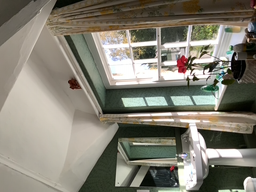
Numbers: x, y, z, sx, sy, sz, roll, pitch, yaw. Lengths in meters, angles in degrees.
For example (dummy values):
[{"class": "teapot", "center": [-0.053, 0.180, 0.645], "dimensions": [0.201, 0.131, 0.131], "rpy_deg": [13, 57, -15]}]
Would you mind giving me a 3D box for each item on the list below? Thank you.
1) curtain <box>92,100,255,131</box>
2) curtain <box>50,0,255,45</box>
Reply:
[{"class": "curtain", "center": [0.550, 0.250, 2.540], "dimensions": [0.270, 1.950, 0.190], "rpy_deg": [72, -163, -55]}, {"class": "curtain", "center": [0.290, -0.570, 1.470], "dimensions": [0.600, 1.440, 0.240], "rpy_deg": [-34, -59, -81]}]
